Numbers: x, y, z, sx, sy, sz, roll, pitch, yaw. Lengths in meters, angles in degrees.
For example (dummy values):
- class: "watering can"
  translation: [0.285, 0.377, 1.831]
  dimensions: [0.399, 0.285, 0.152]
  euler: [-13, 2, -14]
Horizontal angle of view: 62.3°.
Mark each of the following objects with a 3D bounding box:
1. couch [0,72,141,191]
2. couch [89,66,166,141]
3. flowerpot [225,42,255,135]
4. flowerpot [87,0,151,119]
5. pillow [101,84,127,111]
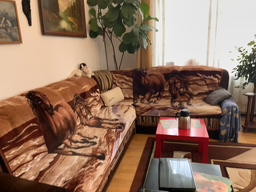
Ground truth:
- class: "couch"
  translation: [-0.550, 0.380, 2.370]
  dimensions: [0.960, 0.980, 2.160]
  euler: [2, 15, 15]
- class: "couch"
  translation: [-0.050, 0.030, 3.730]
  dimensions: [0.920, 0.950, 1.100]
  euler: [-9, 16, -25]
- class: "flowerpot"
  translation: [1.920, -0.150, 3.400]
  dimensions: [0.460, 1.380, 0.630]
  euler: [2, 15, 15]
- class: "flowerpot"
  translation: [-0.110, -0.880, 3.890]
  dimensions: [0.960, 2.460, 0.650]
  euler: [2, 15, 15]
- class: "pillow"
  translation: [-0.220, 0.020, 3.430]
  dimensions: [0.120, 0.310, 0.400]
  euler: [-14, 9, 34]
